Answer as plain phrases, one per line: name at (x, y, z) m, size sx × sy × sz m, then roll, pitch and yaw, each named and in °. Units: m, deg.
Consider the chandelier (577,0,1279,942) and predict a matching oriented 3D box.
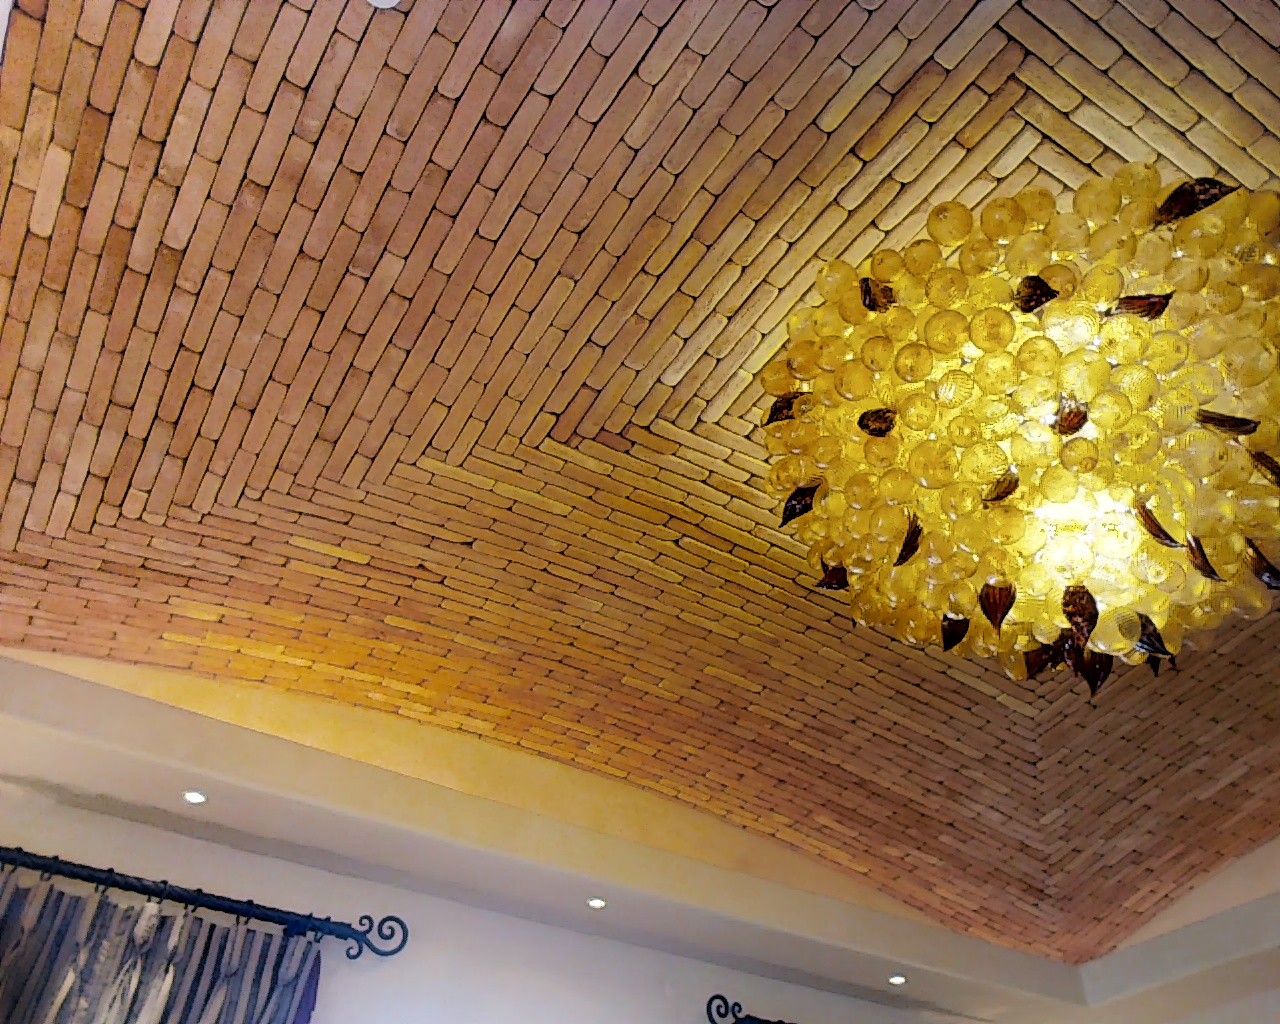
chandelier at (1.000, -0.020, 2.520) m, size 1.520 × 1.570 × 0.820 m, roll -46°, pitch 8°, yaw 39°
